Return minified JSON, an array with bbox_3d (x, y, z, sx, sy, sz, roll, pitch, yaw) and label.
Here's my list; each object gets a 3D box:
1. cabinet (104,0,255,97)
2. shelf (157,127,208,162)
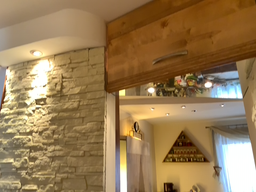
[{"bbox_3d":[0.240,-0.300,1.140,0.790,0.450,0.190,-12,-20,32],"label":"cabinet"},{"bbox_3d":[1.190,1.100,4.760,1.040,0.730,0.100,-6,-18,16],"label":"shelf"}]
